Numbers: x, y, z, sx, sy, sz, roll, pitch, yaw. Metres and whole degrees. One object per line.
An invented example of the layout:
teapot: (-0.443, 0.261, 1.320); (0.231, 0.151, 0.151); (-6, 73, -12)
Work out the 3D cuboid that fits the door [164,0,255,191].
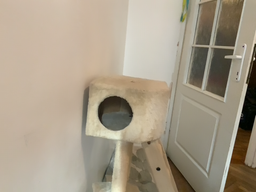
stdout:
door: (0.660, -0.290, 1.660); (0.120, 2.110, 0.890); (2, 14, -14)
